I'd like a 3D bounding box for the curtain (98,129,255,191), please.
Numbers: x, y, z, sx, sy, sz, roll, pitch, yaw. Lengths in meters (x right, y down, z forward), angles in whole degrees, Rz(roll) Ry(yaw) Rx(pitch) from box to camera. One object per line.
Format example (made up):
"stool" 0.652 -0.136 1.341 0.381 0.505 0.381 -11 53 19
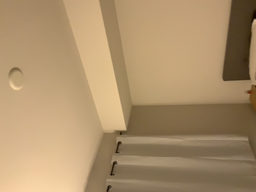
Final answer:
"curtain" 0.480 1.080 2.020 1.980 1.620 0.140 -76 -19 -52
